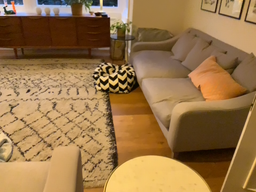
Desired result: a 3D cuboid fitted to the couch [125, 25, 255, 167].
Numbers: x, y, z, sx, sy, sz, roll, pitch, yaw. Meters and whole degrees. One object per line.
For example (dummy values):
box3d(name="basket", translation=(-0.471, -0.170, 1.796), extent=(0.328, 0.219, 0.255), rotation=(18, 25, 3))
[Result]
box3d(name="couch", translation=(0.630, -0.260, 2.570), extent=(1.070, 0.750, 2.130), rotation=(-1, 29, -8))

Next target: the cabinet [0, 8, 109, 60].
box3d(name="cabinet", translation=(-1.350, -1.150, 3.970), extent=(1.980, 0.790, 0.500), rotation=(0, 29, -6))
